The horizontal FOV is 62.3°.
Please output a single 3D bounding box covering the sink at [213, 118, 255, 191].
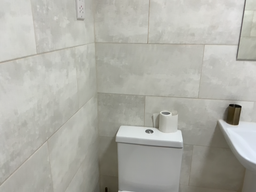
[{"bbox_3d":[0.790,0.300,1.020,0.610,0.190,0.440,3,18,8],"label":"sink"}]
